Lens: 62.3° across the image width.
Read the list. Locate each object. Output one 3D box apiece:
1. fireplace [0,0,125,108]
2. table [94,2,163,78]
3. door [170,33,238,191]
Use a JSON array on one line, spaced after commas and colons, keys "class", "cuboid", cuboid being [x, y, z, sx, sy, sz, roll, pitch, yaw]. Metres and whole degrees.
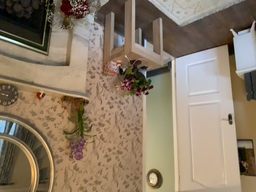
[{"class": "fireplace", "cuboid": [-0.730, -0.520, 1.600, 0.570, 0.980, 1.420, -11, 162, 42]}, {"class": "table", "cuboid": [0.020, -0.570, 2.360, 0.480, 0.520, 0.580, -11, 162, 41]}, {"class": "door", "cuboid": [0.970, 0.250, 2.900, 0.790, 2.170, 0.060, -9, 163, 37]}]
